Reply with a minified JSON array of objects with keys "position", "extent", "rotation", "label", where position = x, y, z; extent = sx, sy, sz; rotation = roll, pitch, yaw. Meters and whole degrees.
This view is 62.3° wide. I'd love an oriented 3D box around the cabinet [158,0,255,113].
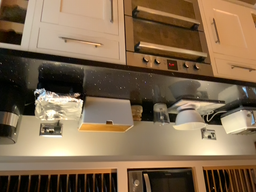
[{"position":[0.680,-0.390,1.860],"extent":[0.520,0.910,0.610],"rotation":[4,158,-18],"label":"cabinet"}]
